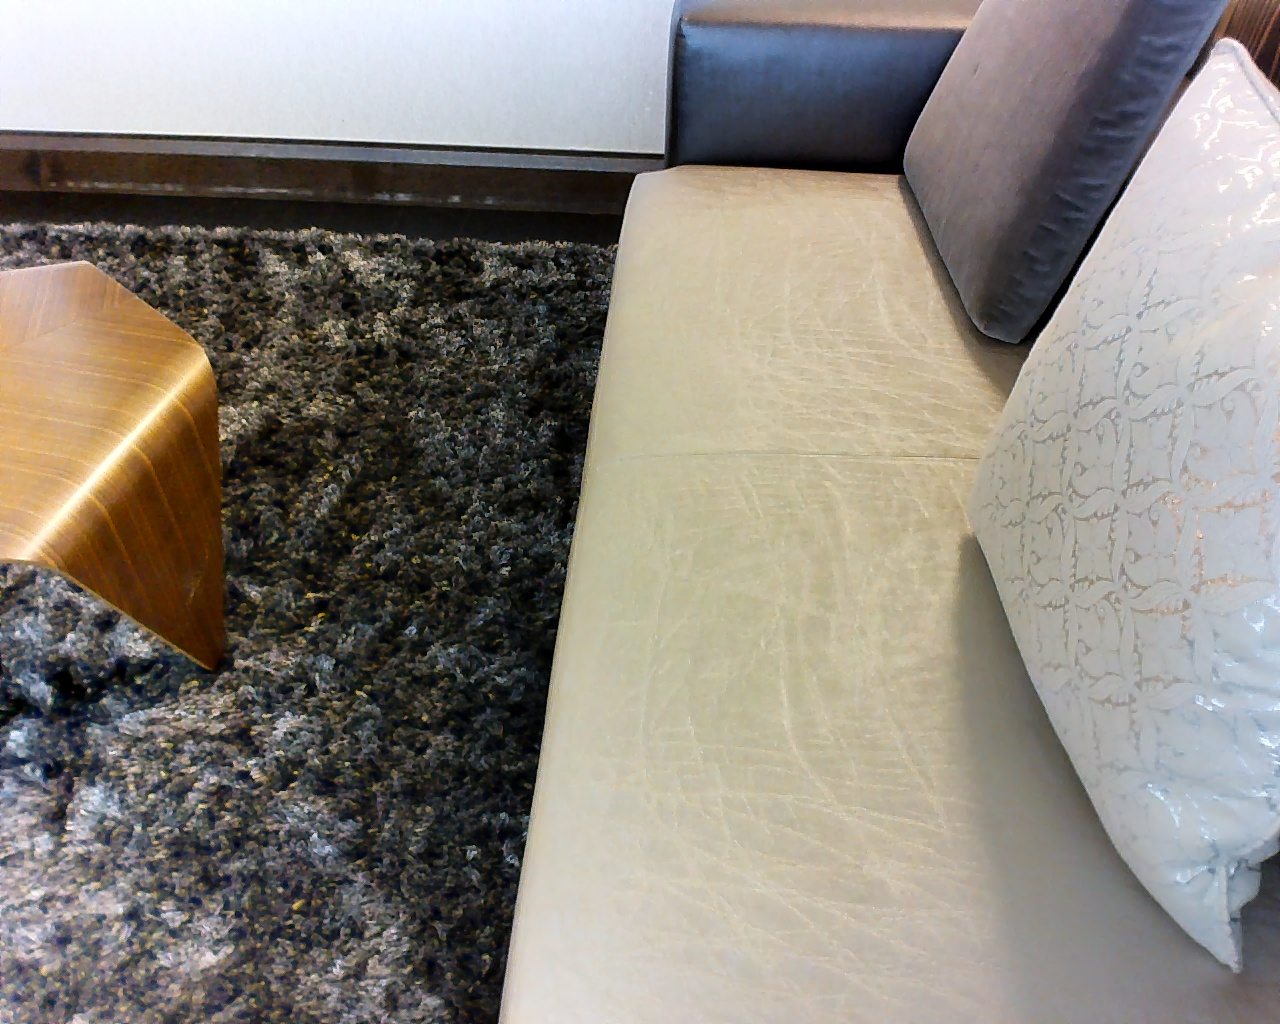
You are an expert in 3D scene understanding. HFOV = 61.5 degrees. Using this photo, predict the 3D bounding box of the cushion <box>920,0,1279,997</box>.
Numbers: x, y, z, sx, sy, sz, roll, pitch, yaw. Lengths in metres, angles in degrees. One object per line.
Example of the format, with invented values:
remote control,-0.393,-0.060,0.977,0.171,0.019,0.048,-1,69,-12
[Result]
cushion,0.490,-0.030,0.750,0.430,0.470,0.530,3,41,2
